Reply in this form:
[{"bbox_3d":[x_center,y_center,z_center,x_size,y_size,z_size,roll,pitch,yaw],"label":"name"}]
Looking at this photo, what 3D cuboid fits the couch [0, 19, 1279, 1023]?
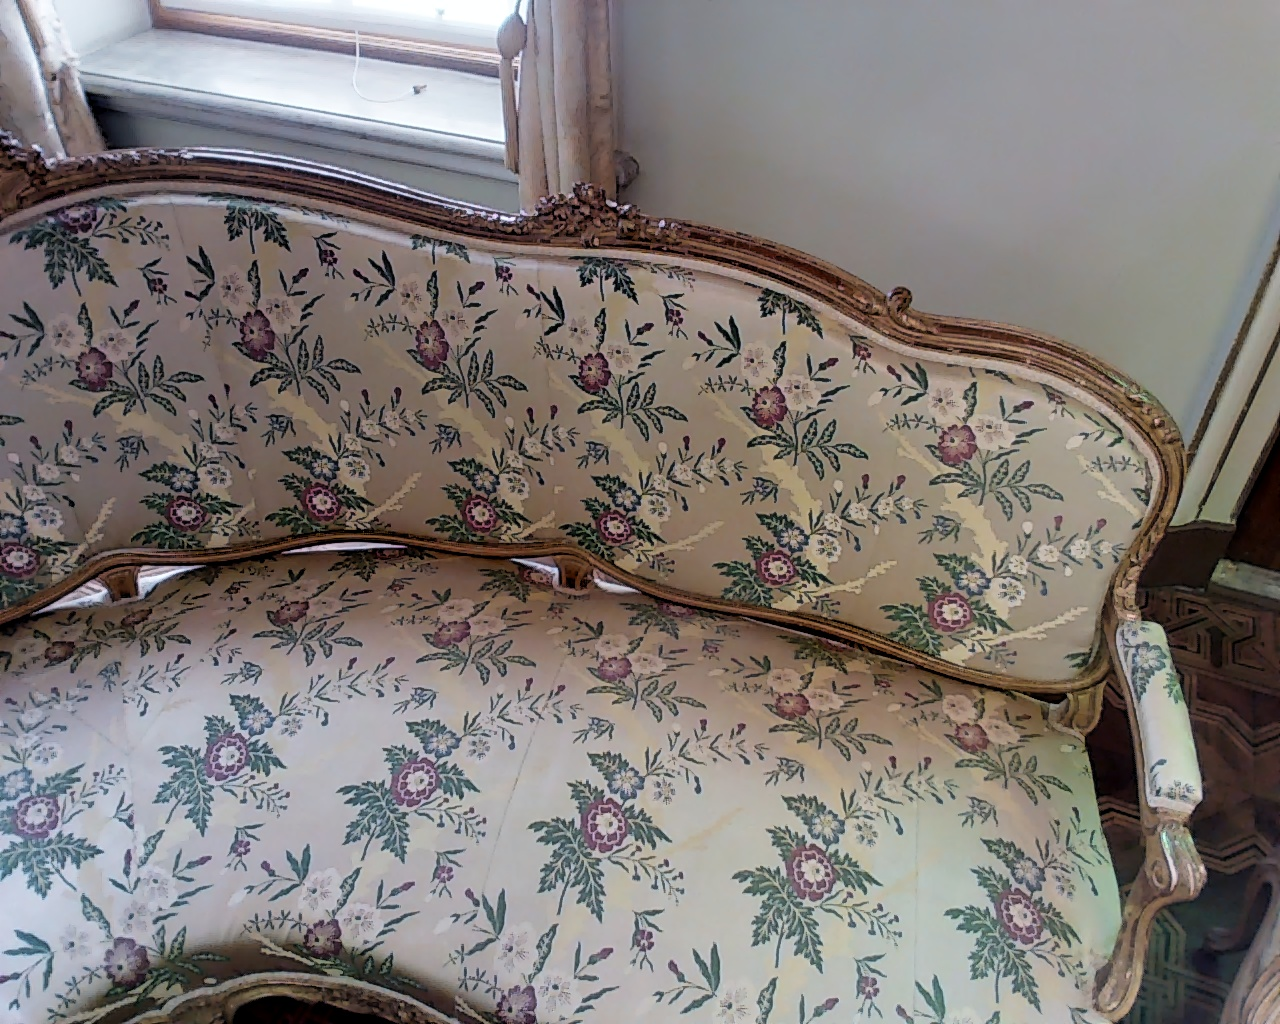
[{"bbox_3d":[-0.560,0.490,1.210,1.980,1.180,2.200,14,43,16],"label":"couch"}]
